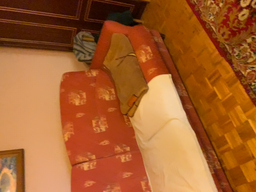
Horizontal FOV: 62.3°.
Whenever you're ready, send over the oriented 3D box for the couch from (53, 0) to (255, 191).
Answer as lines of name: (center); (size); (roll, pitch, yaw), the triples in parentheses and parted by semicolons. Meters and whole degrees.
couch: (0.040, 0.440, 1.830); (1.090, 1.040, 2.340); (123, 139, -49)
